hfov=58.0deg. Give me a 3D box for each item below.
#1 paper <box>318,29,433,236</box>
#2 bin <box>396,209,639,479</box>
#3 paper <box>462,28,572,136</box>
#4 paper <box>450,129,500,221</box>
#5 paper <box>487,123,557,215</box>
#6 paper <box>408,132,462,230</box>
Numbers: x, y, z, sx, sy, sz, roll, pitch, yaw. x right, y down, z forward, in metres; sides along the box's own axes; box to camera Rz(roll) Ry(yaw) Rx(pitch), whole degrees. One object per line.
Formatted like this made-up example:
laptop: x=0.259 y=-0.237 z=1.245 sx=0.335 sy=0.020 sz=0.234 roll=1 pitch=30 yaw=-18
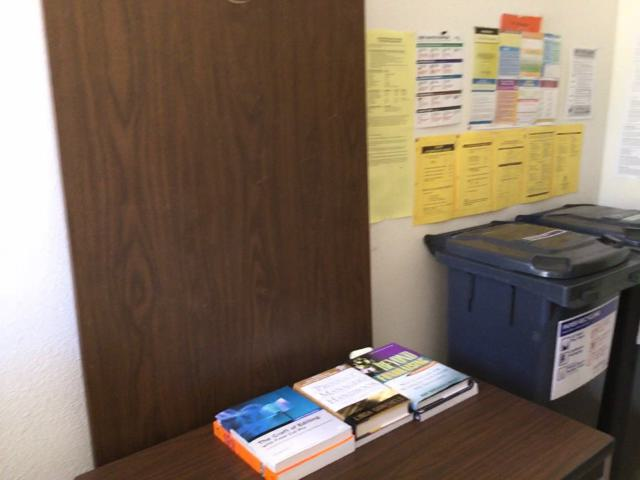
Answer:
paper: x=0.170 y=-0.310 z=1.650 sx=0.310 sy=0.540 sz=0.080 roll=-14 pitch=16 yaw=-33
bin: x=0.650 y=0.490 z=1.820 sx=0.530 sy=1.050 sz=0.530 roll=-14 pitch=16 yaw=-33
paper: x=0.690 y=-0.550 z=1.980 sx=0.530 sy=0.290 sz=0.030 roll=-19 pitch=18 yaw=-31
paper: x=0.520 y=-0.220 z=1.930 sx=0.200 sy=0.280 sz=0.030 roll=-14 pitch=16 yaw=-33
paper: x=0.730 y=-0.260 z=2.070 sx=0.350 sy=0.280 sz=0.030 roll=-14 pitch=16 yaw=-33
paper: x=0.370 y=-0.190 z=1.840 sx=0.200 sy=0.280 sz=0.020 roll=-14 pitch=16 yaw=-33
